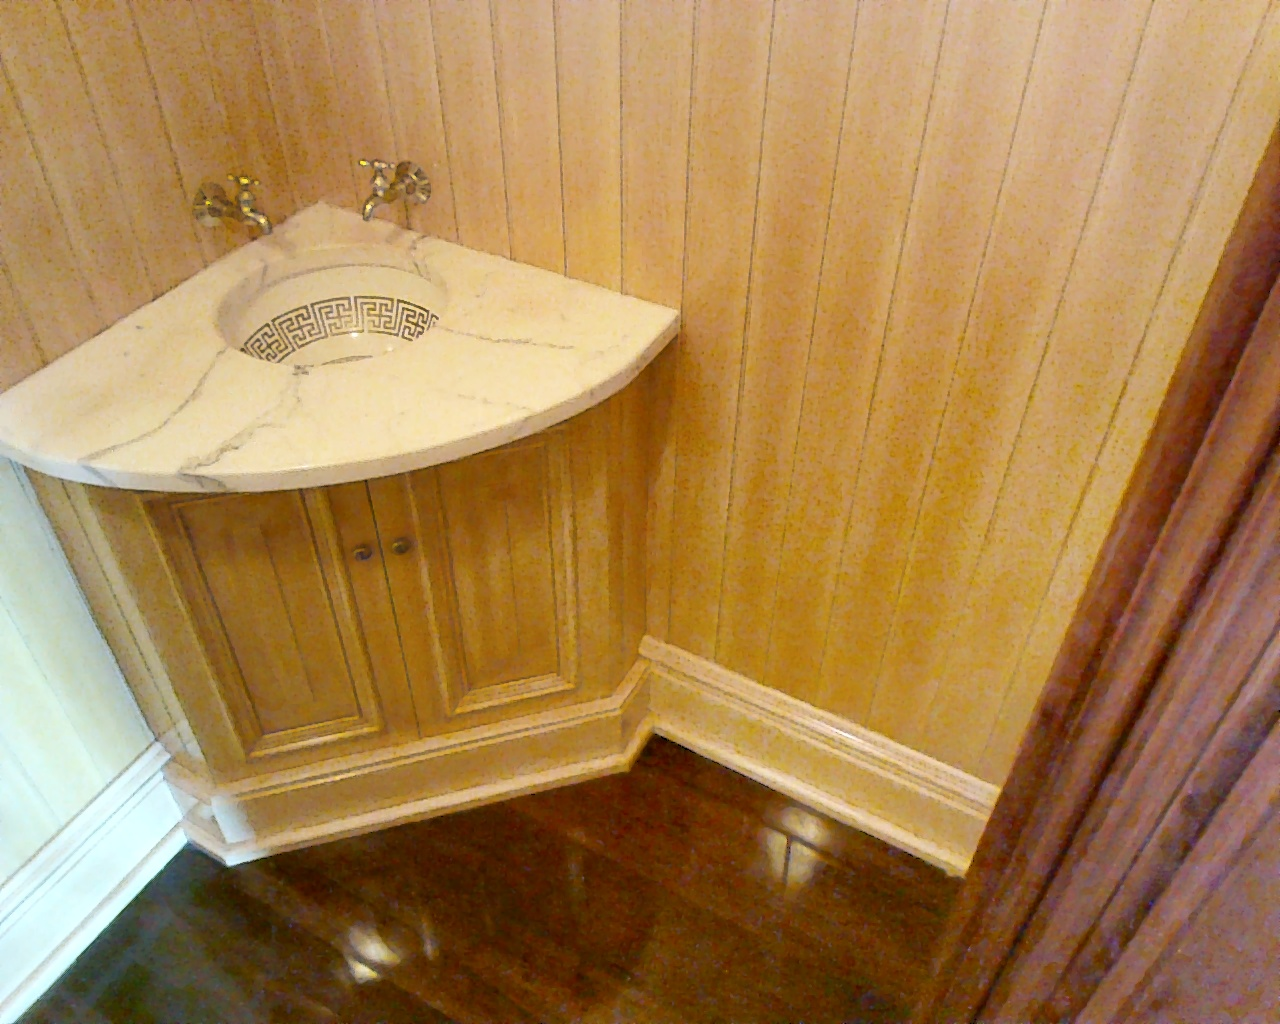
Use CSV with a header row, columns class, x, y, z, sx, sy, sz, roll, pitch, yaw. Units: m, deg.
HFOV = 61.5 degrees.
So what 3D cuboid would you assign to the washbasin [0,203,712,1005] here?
class,x,y,z,sx,sy,sz,roll,pitch,yaw
washbasin,-0.340,0.120,1.580,0.640,0.800,0.630,20,47,20
